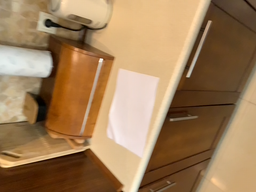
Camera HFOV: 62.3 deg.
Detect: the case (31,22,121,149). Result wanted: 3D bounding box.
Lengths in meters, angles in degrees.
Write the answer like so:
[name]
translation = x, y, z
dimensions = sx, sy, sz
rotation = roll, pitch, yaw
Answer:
[case]
translation = -0.260, -0.050, 0.970
dimensions = 0.290, 0.190, 0.460
rotation = 36, 115, 39
